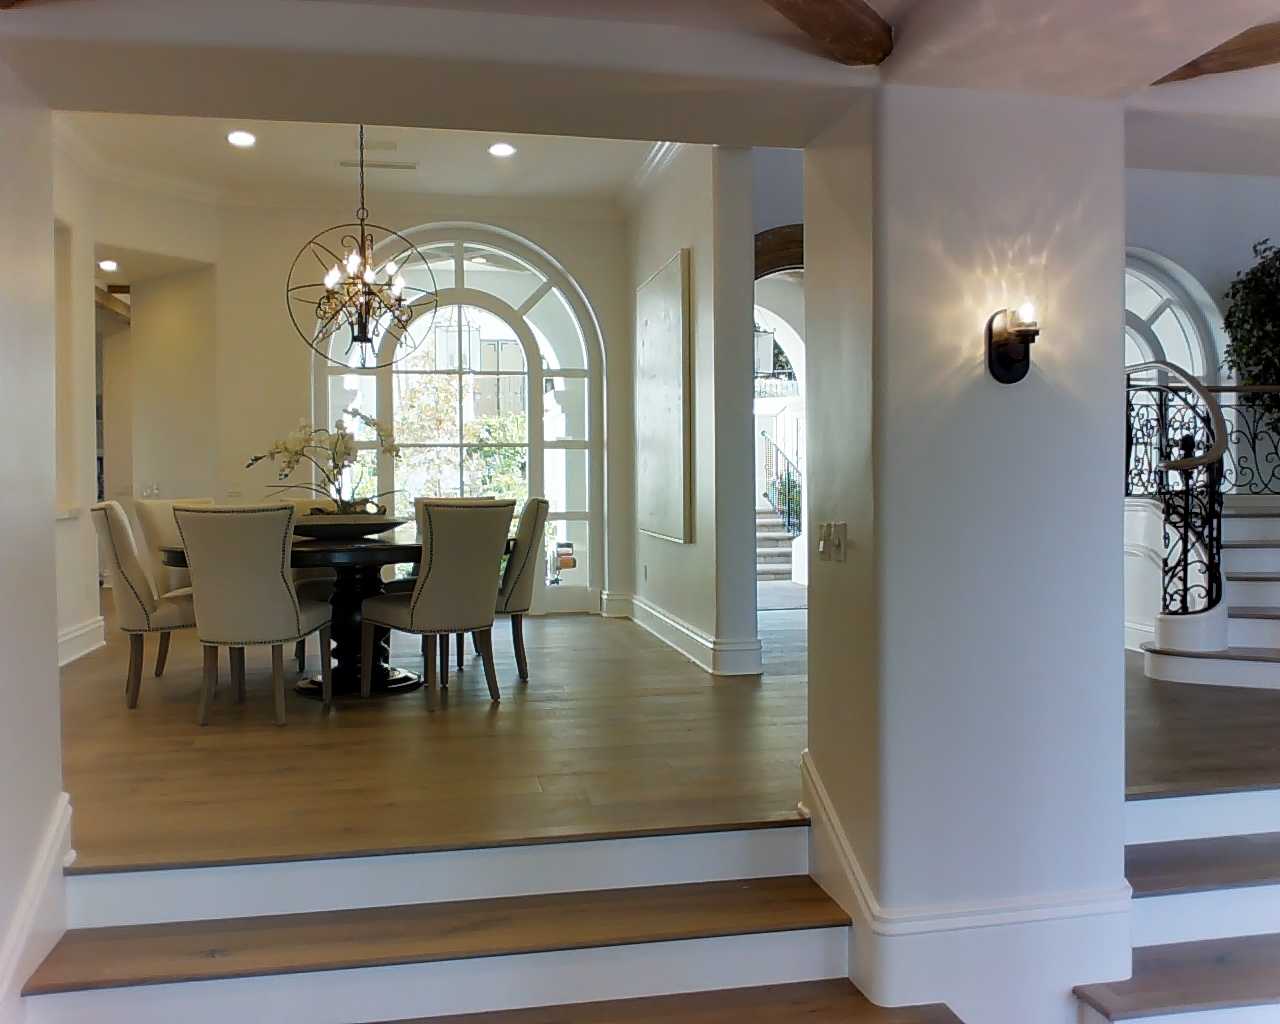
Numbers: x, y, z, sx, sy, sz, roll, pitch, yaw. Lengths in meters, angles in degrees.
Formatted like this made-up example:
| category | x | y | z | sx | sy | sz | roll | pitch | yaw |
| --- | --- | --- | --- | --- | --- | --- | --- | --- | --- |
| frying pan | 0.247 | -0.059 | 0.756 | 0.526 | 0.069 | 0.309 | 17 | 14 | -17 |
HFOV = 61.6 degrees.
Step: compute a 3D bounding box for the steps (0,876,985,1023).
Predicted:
| category | x | y | z | sx | sy | sz | roll | pitch | yaw |
| --- | --- | --- | --- | --- | --- | --- | --- | --- | --- |
| steps | -0.450 | 1.380 | 2.830 | 2.639 | 0.440 | 0.570 | -1 | 1 | -11 |
